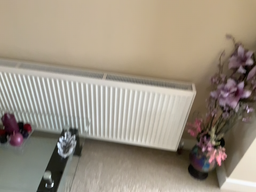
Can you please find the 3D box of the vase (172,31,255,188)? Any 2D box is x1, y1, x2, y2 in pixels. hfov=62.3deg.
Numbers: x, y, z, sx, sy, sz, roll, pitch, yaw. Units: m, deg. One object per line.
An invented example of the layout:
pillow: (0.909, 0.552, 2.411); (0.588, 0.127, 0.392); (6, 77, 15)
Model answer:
vase: (0.610, 0.150, 1.410); (0.420, 1.010, 0.370); (8, 39, 3)
